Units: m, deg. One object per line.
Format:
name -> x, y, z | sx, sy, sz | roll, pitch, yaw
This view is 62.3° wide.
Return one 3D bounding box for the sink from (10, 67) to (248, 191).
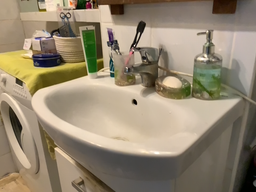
sink -> -0.020, 0.070, 0.590 | 0.510, 0.150, 0.380 | 19, 30, 41
